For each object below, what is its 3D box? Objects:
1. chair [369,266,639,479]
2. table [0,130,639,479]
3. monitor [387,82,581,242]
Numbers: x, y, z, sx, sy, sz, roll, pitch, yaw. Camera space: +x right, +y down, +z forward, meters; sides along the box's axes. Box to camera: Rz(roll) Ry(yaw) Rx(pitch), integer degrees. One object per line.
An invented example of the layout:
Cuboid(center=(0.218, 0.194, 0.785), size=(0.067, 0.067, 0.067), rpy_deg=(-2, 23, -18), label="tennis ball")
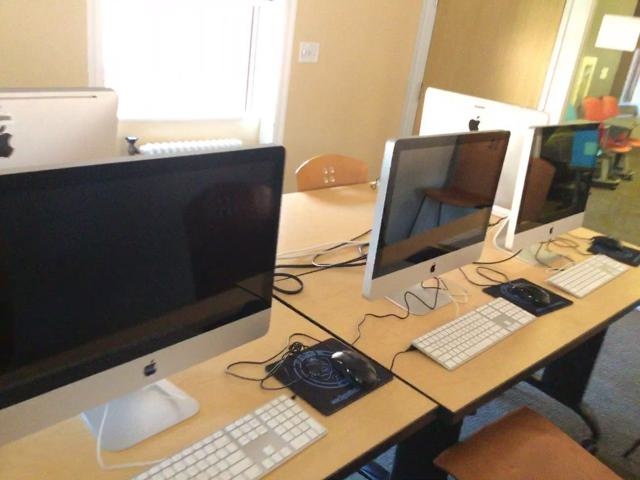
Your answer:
Cuboid(center=(0.500, 0.570, 1.280), size=(0.590, 0.770, 0.540), rpy_deg=(-15, 31, -43), label="chair")
Cuboid(center=(-0.610, 0.220, 0.940), size=(4.340, 0.230, 1.390), rpy_deg=(-15, 31, -43), label="table")
Cuboid(center=(0.570, -0.310, 2.130), size=(0.180, 0.430, 0.600), rpy_deg=(-15, 31, -43), label="monitor")
